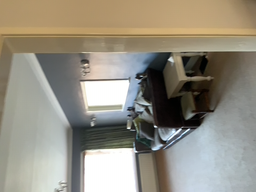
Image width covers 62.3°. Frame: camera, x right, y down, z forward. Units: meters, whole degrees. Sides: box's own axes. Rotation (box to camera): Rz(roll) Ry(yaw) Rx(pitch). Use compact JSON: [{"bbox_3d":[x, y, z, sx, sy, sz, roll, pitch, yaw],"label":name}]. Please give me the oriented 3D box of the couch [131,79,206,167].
[{"bbox_3d":[0.620,0.680,4.300,2.190,0.790,1.020,101,166,-61],"label":"couch"}]
